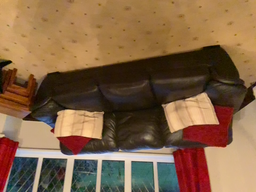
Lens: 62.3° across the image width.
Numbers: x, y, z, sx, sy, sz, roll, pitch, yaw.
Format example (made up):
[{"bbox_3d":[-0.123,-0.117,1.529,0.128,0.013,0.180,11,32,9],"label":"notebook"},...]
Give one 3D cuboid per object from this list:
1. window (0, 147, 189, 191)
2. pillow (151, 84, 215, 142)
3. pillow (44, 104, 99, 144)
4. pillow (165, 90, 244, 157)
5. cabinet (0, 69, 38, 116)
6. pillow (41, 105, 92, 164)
[{"bbox_3d":[-0.520,1.720,3.270,3.090,1.700,0.130,5,152,-8],"label":"window"},{"bbox_3d":[0.600,0.200,2.380,0.610,0.350,0.120,-43,155,26],"label":"pillow"},{"bbox_3d":[-0.710,0.340,2.650,0.600,0.370,0.150,-7,152,-21],"label":"pillow"},{"bbox_3d":[0.850,0.350,2.430,0.670,0.530,0.460,-18,147,31],"label":"pillow"},{"bbox_3d":[-1.470,-0.030,2.750,0.460,0.400,0.390,13,149,-24],"label":"cabinet"},{"bbox_3d":[-0.800,0.500,2.790,0.470,0.550,0.330,-20,155,-20],"label":"pillow"}]
